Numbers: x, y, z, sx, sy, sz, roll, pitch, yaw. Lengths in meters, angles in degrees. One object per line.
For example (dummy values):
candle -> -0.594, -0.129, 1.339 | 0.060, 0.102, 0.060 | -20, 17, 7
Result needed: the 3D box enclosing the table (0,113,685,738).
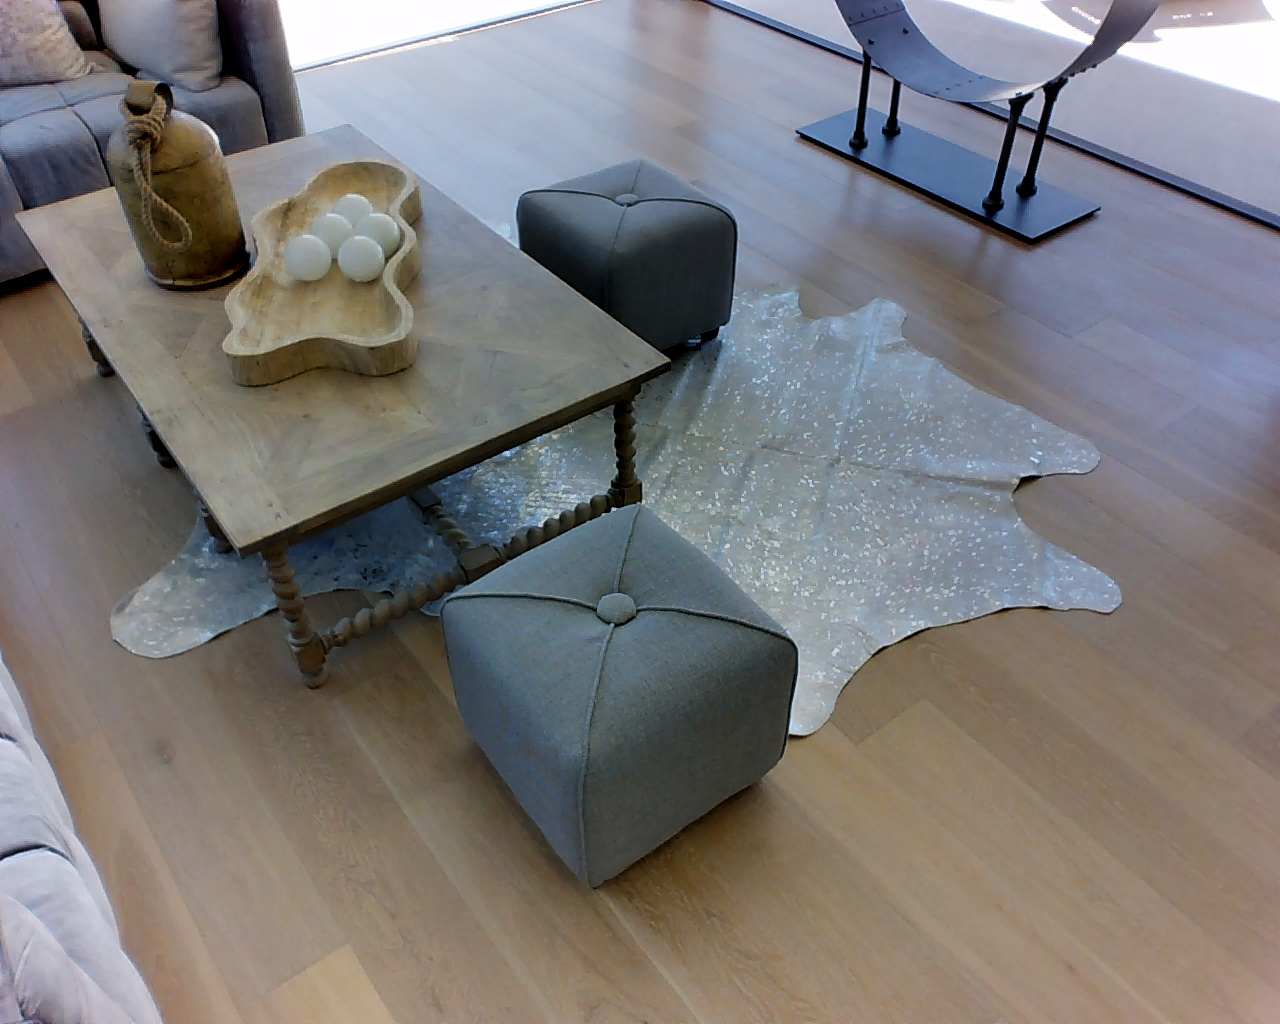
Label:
table -> -0.770, -0.360, 2.580 | 0.980, 0.480, 1.560 | -28, 49, -26
